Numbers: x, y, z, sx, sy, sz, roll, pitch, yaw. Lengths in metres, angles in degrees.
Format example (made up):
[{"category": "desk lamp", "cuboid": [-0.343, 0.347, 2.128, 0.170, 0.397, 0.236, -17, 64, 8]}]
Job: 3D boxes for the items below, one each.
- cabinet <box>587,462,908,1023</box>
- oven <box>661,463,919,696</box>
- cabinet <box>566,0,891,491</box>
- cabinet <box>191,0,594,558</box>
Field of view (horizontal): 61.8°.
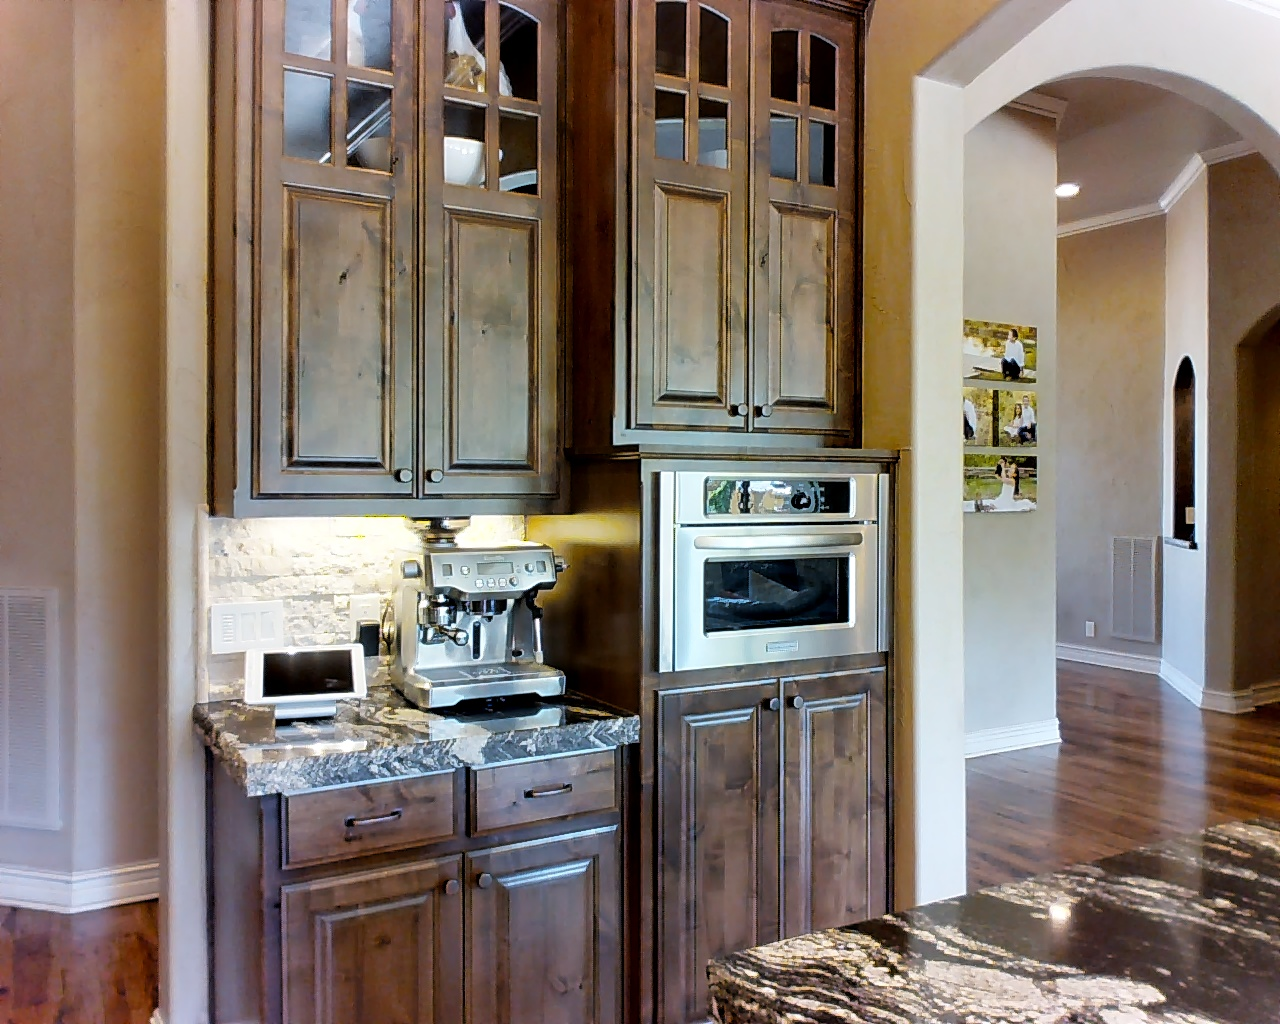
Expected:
[{"category": "cabinet", "cuboid": [0.280, 0.650, 2.680, 0.780, 1.520, 0.280, 0, 0, -29]}, {"category": "oven", "cuboid": [0.380, 0.150, 2.590, 0.710, 0.520, 0.090, 0, 0, -29]}, {"category": "cabinet", "cuboid": [0.240, -0.770, 2.700, 0.840, 1.420, 0.220, 0, 0, -29]}, {"category": "cabinet", "cuboid": [-0.590, -0.660, 2.580, 0.870, 1.510, 0.400, 0, 0, -29]}]
